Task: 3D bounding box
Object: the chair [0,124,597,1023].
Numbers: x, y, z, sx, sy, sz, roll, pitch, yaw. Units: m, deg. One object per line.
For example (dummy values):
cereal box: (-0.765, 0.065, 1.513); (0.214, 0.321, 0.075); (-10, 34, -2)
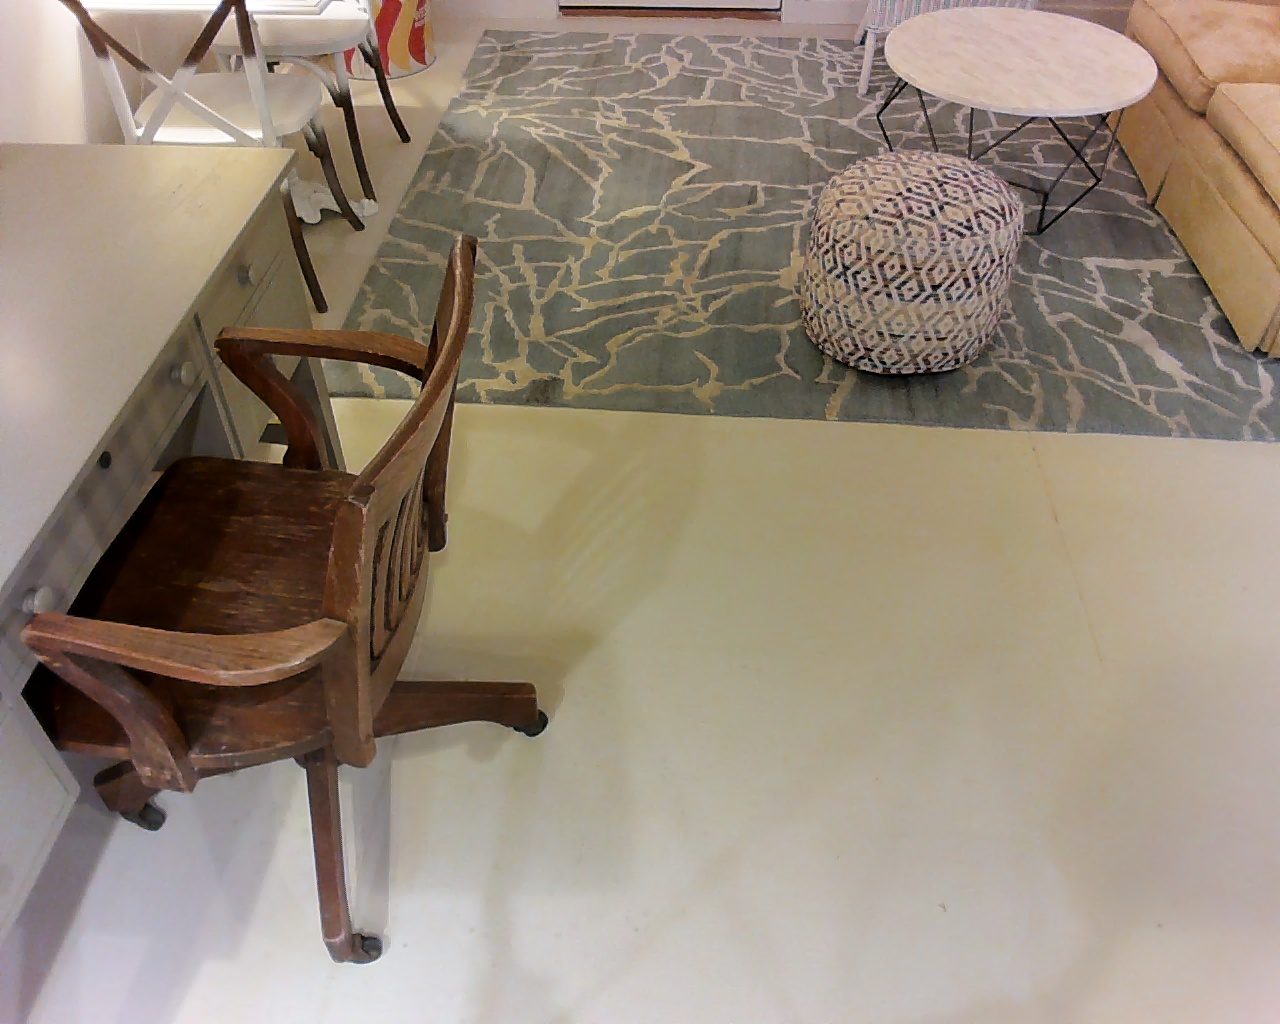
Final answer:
chair: (-0.490, 0.130, 1.470); (0.750, 0.980, 0.810); (3, 43, 3)
